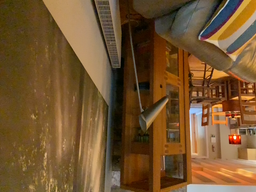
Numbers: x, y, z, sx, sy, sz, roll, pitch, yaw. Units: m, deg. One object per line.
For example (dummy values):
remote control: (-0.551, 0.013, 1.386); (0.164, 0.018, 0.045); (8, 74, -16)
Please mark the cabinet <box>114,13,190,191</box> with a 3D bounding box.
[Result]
cabinet: (0.310, 0.100, 2.610); (0.530, 1.900, 0.760); (-8, 166, 40)
